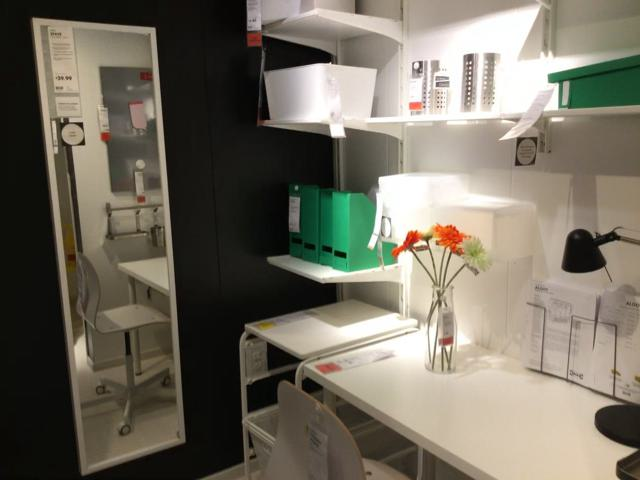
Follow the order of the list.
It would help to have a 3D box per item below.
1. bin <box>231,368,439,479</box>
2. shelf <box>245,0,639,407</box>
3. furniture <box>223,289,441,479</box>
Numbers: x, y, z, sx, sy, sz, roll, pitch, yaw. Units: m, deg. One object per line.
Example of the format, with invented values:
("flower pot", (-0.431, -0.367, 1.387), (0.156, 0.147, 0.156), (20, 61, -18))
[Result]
("bin", (0.050, 0.870, 2.300), (0.620, 0.440, 0.540), (-6, 11, -32))
("shelf", (0.320, -0.290, 1.830), (0.460, 1.010, 1.550), (-6, 11, -32))
("furniture", (0.040, 0.670, 2.350), (0.670, 0.760, 0.550), (-6, 11, -32))
